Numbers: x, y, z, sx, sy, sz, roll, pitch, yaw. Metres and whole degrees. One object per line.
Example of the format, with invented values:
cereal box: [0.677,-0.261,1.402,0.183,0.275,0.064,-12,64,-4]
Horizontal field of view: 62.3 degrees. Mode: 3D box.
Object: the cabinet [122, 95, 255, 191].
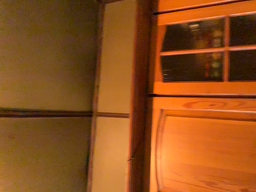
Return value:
cabinet: [0.340,0.260,0.990,0.350,0.630,0.500,11,-99,-64]
